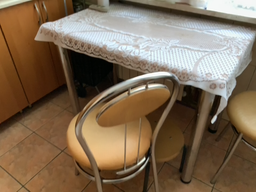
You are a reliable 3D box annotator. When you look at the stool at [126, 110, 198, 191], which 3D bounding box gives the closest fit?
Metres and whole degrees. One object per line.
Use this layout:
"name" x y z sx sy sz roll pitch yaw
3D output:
"stool" 0.180 0.320 1.260 0.290 0.290 0.270 -20 42 -23
